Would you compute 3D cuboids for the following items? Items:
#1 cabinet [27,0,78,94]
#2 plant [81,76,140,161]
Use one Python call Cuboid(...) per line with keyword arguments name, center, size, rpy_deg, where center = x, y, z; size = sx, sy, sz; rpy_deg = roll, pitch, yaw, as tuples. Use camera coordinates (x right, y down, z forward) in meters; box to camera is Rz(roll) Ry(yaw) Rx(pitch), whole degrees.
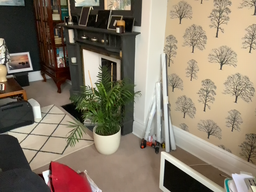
Cuboid(name="cabinet", center=(-1.510, -1.100, 4.260), size=(0.480, 1.880, 0.960), rpy_deg=(-16, 28, -36))
Cuboid(name="plant", center=(-0.180, 0.230, 2.360), size=(0.560, 0.780, 0.270), rpy_deg=(-15, 27, -34))
